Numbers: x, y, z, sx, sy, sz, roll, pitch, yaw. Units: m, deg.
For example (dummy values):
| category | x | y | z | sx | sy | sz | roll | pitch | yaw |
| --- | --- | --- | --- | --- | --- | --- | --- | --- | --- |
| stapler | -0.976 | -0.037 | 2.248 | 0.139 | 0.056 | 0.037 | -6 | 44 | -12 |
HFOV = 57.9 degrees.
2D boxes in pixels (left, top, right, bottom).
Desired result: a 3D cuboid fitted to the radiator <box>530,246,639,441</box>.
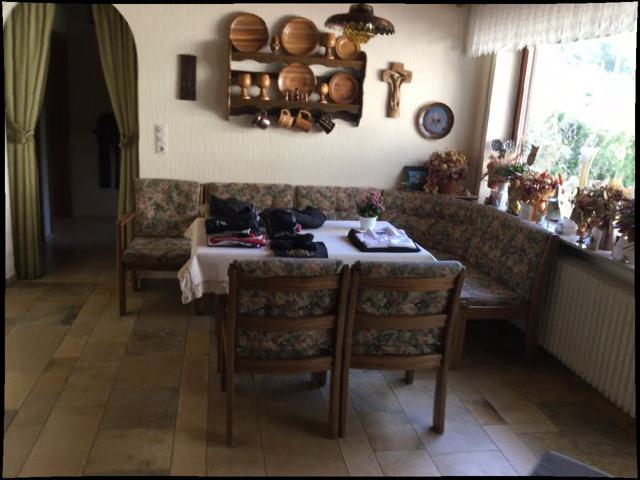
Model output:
| category | x | y | z | sx | sy | sz | roll | pitch | yaw |
| --- | --- | --- | --- | --- | --- | --- | --- | --- | --- |
| radiator | 1.568 | 0.511 | 3.080 | 0.230 | 0.701 | 1.130 | 0 | 14 | -11 |
